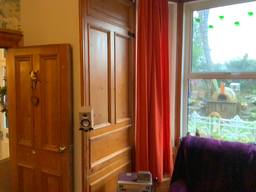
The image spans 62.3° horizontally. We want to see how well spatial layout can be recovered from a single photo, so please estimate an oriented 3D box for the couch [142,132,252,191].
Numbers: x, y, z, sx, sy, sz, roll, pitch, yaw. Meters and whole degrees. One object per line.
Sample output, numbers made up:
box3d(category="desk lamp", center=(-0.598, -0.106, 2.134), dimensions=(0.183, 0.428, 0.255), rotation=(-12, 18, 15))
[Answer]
box3d(category="couch", center=(0.720, 1.000, 2.140), dimensions=(0.850, 0.990, 0.920), rotation=(3, 6, 28))
